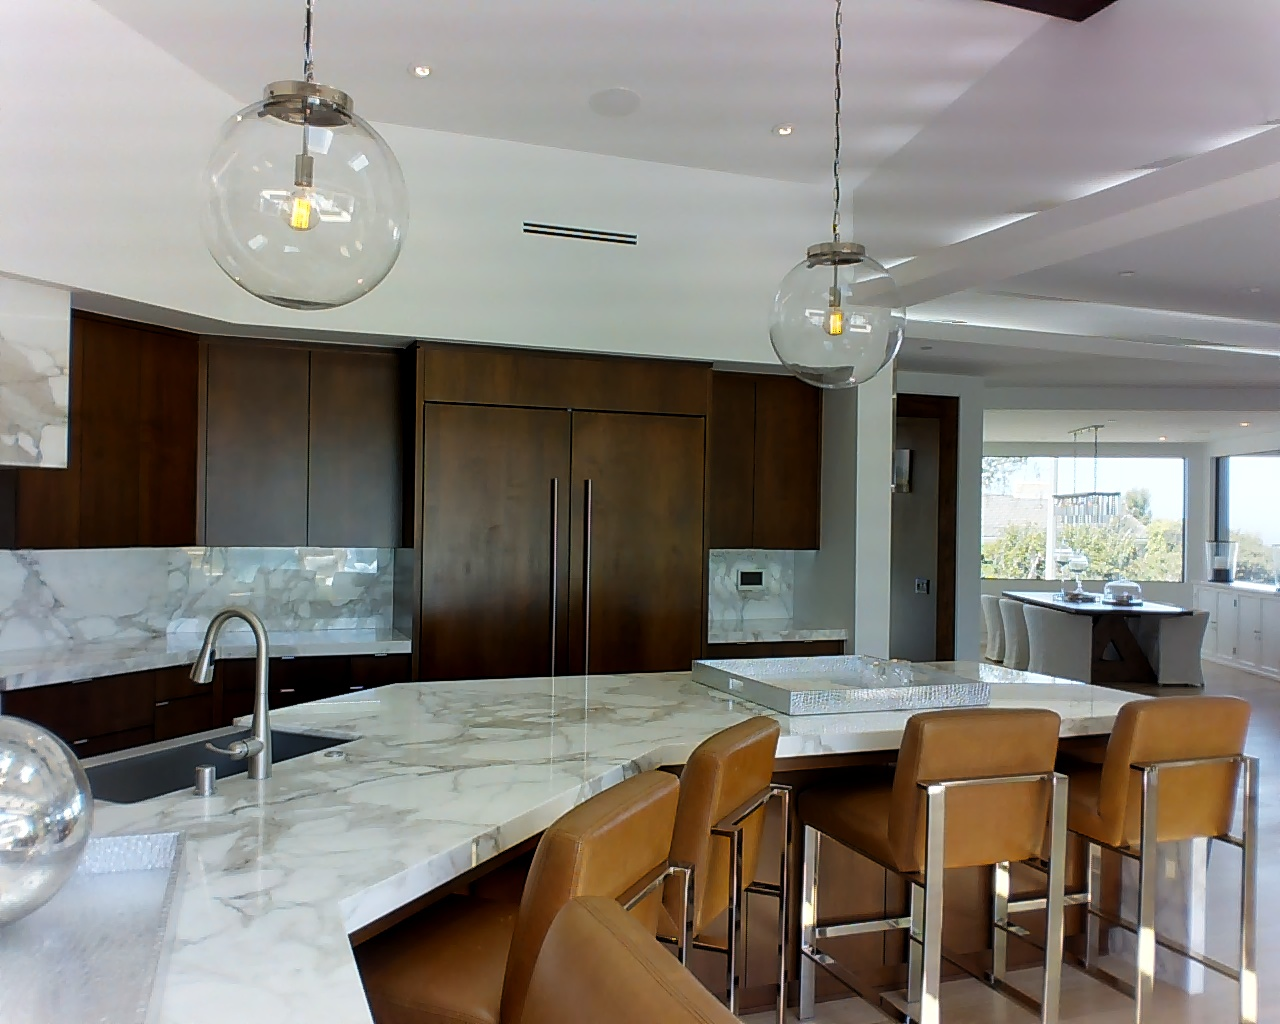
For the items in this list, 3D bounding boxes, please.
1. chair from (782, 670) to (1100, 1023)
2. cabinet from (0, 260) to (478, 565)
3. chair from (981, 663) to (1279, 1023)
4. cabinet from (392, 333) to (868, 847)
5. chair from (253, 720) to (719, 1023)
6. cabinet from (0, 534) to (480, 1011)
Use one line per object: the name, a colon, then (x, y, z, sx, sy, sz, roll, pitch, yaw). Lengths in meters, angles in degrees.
chair: (0.860, 1.040, 3.180, 0.610, 1.030, 0.670, 1, 0, -21)
cabinet: (-1.840, -0.360, 5.030, 1.320, 1.110, 1.850, 1, 0, 25)
chair: (1.540, 1.060, 3.440, 0.550, 1.050, 0.660, 1, 0, -20)
cabinet: (-0.030, 0.400, 5.960, 2.500, 2.480, 0.710, 1, 0, -21)
chair: (-0.270, 1.010, 2.030, 0.660, 1.080, 0.570, 1, 0, 24)
cabinet: (-2.390, 0.810, 3.860, 1.300, 1.410, 4.540, 1, 0, 25)
